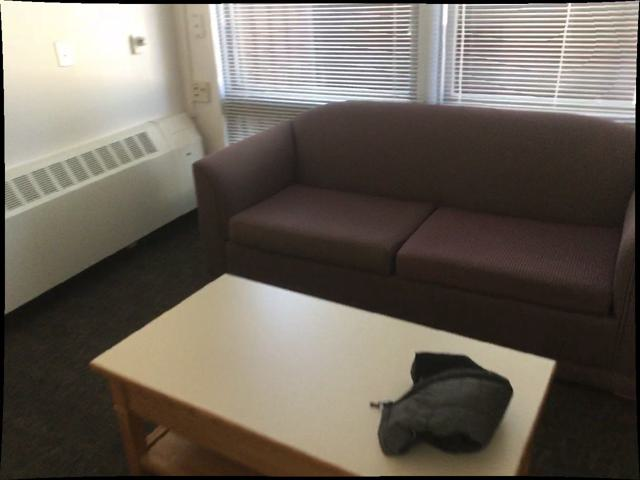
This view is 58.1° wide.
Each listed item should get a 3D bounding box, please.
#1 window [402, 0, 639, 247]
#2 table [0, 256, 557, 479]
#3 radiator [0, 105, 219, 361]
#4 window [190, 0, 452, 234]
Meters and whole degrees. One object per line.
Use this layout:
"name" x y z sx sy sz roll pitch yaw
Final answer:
"window" 1.028 -0.891 2.440 1.279 1.682 0.410 12 30 29
"table" -0.130 0.521 1.410 1.159 0.531 0.630 12 30 29
"radiator" -1.218 -0.020 2.560 0.270 0.661 2.160 9 28 24
"window" -0.030 -1.092 2.810 1.279 1.953 0.330 12 30 29
